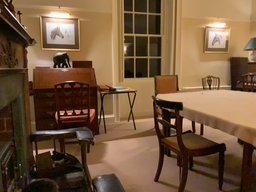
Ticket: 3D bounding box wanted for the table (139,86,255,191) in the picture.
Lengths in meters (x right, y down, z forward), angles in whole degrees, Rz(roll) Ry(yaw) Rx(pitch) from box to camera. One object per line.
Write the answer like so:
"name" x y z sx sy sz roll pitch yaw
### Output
"table" 1.100 0.380 2.150 1.250 0.710 2.300 -4 9 -17
